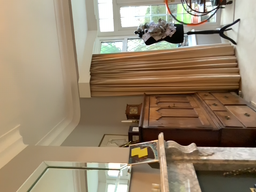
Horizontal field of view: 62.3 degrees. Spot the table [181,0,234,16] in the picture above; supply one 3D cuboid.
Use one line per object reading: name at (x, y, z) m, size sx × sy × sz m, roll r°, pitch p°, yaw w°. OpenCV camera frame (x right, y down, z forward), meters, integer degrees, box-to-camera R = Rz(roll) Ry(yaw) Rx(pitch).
table at (1.340, -1.830, 3.630) m, size 0.480 × 0.770 × 0.760 m, roll -68°, pitch -24°, yaw -74°
